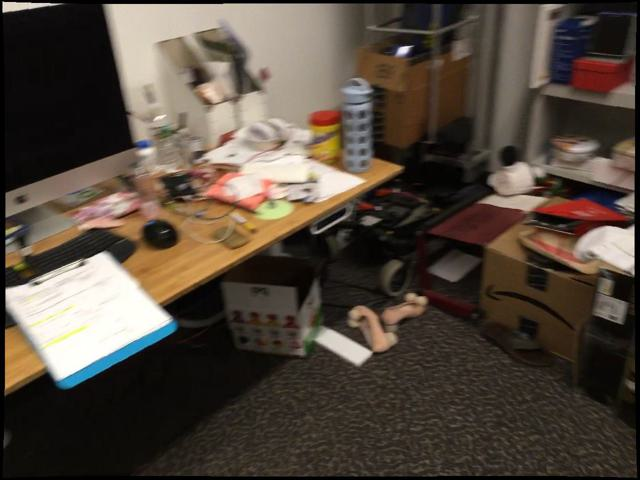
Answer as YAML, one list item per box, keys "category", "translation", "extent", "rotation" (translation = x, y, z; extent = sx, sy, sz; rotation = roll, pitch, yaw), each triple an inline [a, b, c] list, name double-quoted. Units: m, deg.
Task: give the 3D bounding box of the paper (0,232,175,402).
- category: "paper"
  translation: [-0.499, 0.130, 1.150]
  extent: [0.250, 0.080, 0.360]
  rotation: [-29, 40, -33]

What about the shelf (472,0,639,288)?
- category: "shelf"
  translation: [1.089, -0.821, 1.760]
  extent: [0.970, 1.991, 0.430]
  rotation: [24, 42, 37]

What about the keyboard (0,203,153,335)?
- category: "keyboard"
  translation: [-0.609, 0.060, 1.250]
  extent: [0.230, 0.060, 0.410]
  rotation: [24, 42, 37]

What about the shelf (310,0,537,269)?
- category: "shelf"
  translation: [0.420, -0.801, 2.320]
  extent: [0.610, 1.611, 0.660]
  rotation: [24, 42, 37]
